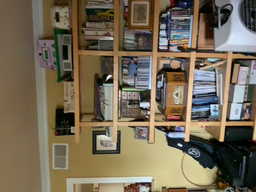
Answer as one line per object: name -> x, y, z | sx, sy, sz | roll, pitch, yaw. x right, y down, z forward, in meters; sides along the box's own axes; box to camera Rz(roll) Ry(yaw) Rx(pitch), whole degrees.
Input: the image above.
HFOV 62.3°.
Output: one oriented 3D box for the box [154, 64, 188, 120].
box -> 0.470, -0.050, 2.360 | 0.230, 0.290, 0.590 | -124, 34, -81
